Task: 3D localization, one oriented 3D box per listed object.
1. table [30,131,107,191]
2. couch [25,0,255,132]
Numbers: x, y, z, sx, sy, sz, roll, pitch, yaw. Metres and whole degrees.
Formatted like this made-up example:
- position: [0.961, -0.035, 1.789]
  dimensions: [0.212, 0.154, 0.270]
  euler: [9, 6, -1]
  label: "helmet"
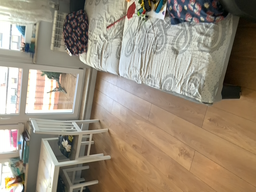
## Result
- position: [-0.890, 1.090, 3.030]
  dimensions: [0.840, 0.750, 0.850]
  euler: [26, 110, 53]
  label: "table"
- position: [-0.090, -0.880, 1.790]
  dimensions: [2.240, 0.980, 1.490]
  euler: [27, 110, 52]
  label: "couch"
